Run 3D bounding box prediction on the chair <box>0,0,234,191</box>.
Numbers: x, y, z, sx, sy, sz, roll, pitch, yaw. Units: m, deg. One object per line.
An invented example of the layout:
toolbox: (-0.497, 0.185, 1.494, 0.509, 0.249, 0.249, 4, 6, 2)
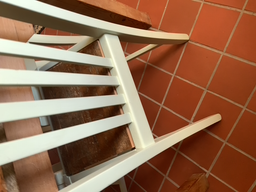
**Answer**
chair: (-0.110, 0.030, 0.660, 0.480, 0.890, 0.470, -25, 81, 38)
